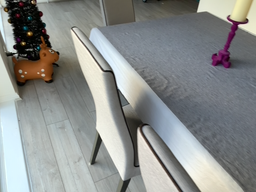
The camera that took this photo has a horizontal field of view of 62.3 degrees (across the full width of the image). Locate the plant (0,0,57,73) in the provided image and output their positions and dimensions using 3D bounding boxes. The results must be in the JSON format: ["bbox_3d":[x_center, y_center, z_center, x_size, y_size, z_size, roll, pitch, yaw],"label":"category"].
[{"bbox_3d":[-1.050,-1.050,2.000,0.400,1.670,0.380,-16,44,-22],"label":"plant"}]
